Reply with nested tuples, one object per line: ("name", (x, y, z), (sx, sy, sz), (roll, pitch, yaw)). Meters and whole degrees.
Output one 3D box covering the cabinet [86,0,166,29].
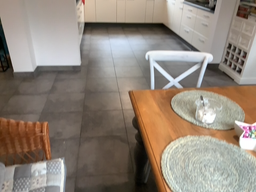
("cabinet", (-0.090, -2.570, 6.370), (2.260, 0.910, 0.620), (-2, 30, -8))
